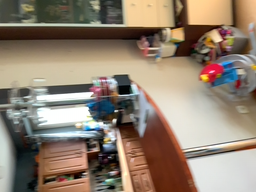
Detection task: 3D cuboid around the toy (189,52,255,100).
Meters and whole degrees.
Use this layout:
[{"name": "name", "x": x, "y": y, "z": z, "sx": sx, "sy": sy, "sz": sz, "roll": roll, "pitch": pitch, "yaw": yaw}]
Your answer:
[{"name": "toy", "x": 0.900, "y": -0.180, "z": 1.850, "sx": 0.290, "sy": 0.590, "sz": 0.260, "roll": 104, "pitch": 156, "yaw": -49}]

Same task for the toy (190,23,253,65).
[{"name": "toy", "x": 0.900, "y": -0.500, "z": 2.090, "sx": 0.360, "sy": 0.380, "sz": 0.230, "roll": 121, "pitch": 141, "yaw": -65}]
